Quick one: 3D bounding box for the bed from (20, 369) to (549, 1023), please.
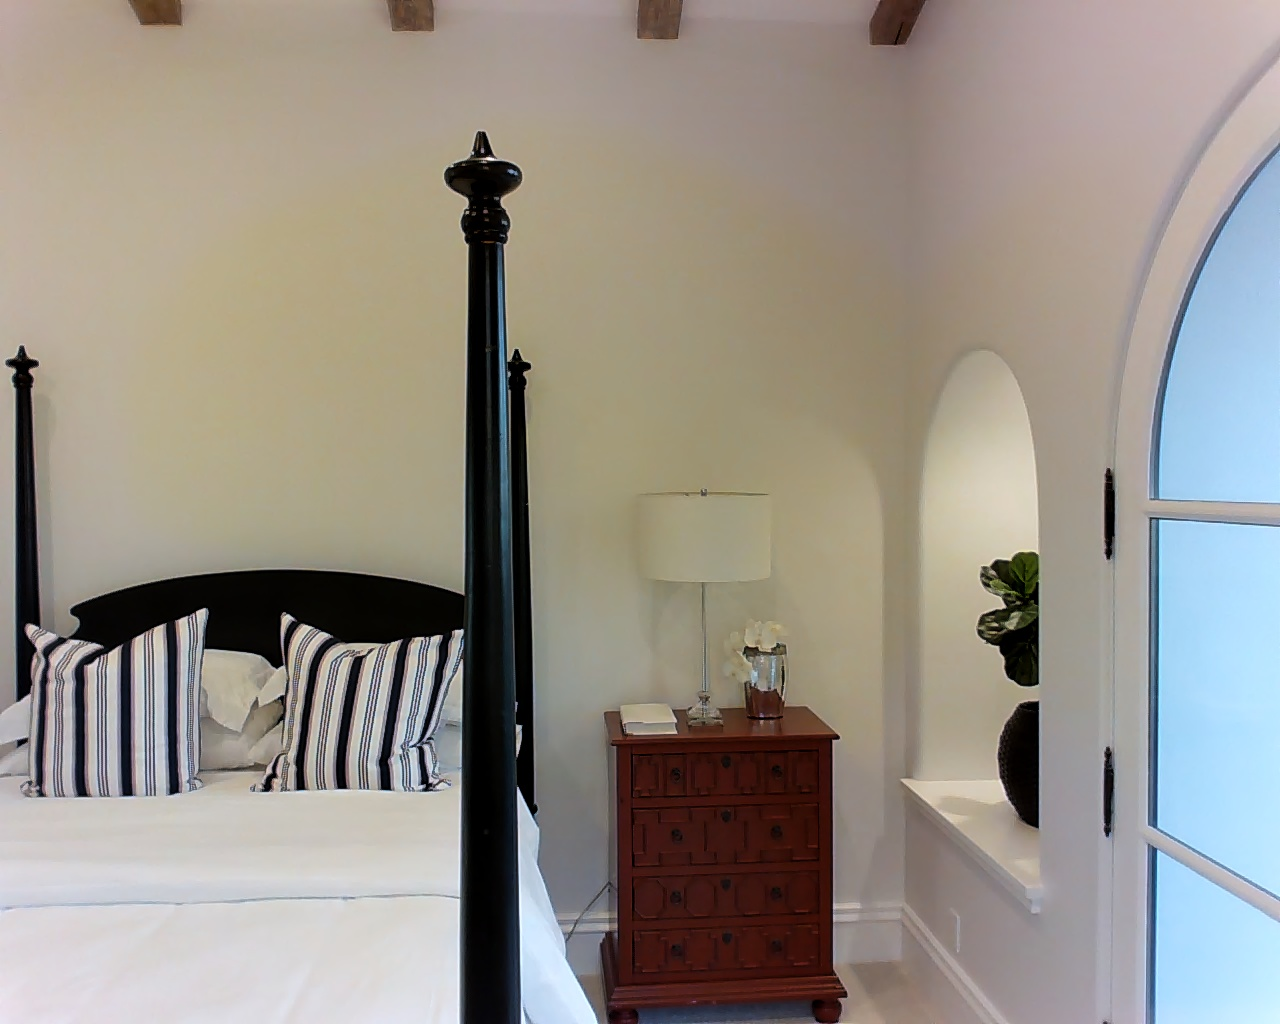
[{"bbox_3d":[-1.140,0.580,3.530,1.649,2.081,0.130,-1,0,-4],"label":"bed"}]
